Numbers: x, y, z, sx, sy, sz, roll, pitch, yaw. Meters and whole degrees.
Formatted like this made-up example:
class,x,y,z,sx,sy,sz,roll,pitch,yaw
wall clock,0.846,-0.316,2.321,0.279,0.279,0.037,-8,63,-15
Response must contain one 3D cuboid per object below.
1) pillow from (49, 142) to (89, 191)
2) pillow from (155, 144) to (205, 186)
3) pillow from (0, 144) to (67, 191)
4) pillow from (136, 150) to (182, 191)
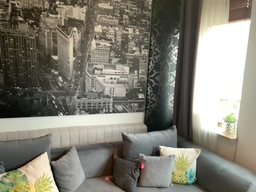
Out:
class,x,y,z,sx,sy,sz,roll,pitch,yaw
pillow,-0.540,0.680,1.990,0.200,0.340,0.310,10,26,16
pillow,0.520,0.710,2.190,0.430,0.370,0.180,2,18,-3
pillow,-0.760,0.700,1.660,0.440,0.440,0.210,-28,45,-35
pillow,0.290,0.740,2.080,0.390,0.360,0.180,1,16,-6
